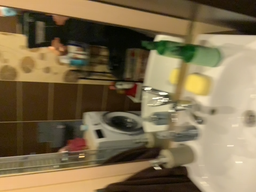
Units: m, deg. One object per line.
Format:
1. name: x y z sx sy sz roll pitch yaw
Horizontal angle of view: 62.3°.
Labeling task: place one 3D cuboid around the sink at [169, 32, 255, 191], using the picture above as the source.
1. sink: 0.410 0.110 0.740 0.420 0.230 0.600 -141 56 -61
